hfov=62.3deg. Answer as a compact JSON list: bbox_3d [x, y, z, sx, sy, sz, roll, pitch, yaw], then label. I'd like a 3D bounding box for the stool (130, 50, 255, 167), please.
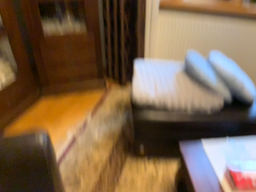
[{"bbox_3d":[0.450,0.040,1.800,0.840,0.500,0.960,0,35,-1],"label":"stool"}]
